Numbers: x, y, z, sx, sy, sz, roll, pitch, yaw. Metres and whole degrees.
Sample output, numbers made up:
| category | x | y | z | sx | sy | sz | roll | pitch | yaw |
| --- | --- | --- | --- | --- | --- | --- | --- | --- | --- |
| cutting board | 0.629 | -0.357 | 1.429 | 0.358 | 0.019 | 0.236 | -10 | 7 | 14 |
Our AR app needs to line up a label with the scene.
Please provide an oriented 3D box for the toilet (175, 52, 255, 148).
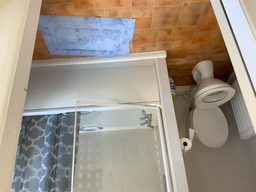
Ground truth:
| category | x | y | z | sx | sy | sz | roll | pitch | yaw |
| --- | --- | --- | --- | --- | --- | --- | --- | --- | --- |
| toilet | 0.860 | 0.070 | 2.290 | 0.470 | 0.820 | 0.630 | -4 | 154 | 0 |

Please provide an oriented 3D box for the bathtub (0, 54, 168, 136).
| category | x | y | z | sx | sy | sz | roll | pitch | yaw |
| --- | --- | --- | --- | --- | --- | --- | --- | --- | --- |
| bathtub | -0.430 | 0.020 | 2.300 | 1.540 | 0.570 | 0.700 | -3 | 154 | -2 |

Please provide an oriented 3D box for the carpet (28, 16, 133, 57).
| category | x | y | z | sx | sy | sz | roll | pitch | yaw |
| --- | --- | --- | --- | --- | --- | --- | --- | --- | --- |
| carpet | -0.380 | -0.510 | 1.890 | 0.810 | 0.010 | 0.500 | -2 | 154 | -4 |
